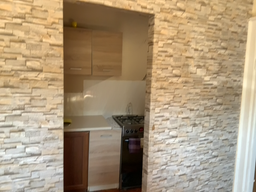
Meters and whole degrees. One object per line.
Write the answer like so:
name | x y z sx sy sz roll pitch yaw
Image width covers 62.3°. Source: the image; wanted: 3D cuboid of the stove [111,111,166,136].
stove | 0.120 0.370 3.010 0.590 0.170 0.620 0 8 -19

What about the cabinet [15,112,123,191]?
cabinet | -0.740 0.710 2.770 1.200 0.860 0.620 0 8 -19

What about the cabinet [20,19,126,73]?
cabinet | -0.680 -0.610 2.760 1.250 0.570 0.310 0 8 -19
